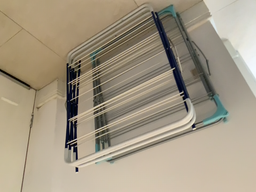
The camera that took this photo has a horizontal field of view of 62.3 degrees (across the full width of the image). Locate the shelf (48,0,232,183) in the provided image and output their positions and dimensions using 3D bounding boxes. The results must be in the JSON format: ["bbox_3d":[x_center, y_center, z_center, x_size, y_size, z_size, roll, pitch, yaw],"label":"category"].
[{"bbox_3d":[-0.040,-0.050,1.110,0.810,0.740,0.190,-28,141,23],"label":"shelf"}]
